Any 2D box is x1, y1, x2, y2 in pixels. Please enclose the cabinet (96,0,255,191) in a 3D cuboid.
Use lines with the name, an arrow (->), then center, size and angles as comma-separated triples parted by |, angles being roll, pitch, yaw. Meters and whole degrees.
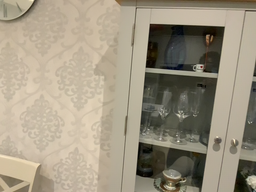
cabinet -> 0.430, 0.130, 1.020 | 1.040, 1.070, 0.420 | 7, 9, 12
